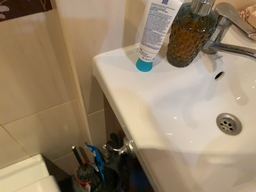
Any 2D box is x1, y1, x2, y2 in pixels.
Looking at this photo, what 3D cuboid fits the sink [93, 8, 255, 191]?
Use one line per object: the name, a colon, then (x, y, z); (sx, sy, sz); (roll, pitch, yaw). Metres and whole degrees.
sink: (0.240, 0.010, 0.460); (0.520, 0.130, 0.370); (-20, 60, -17)
